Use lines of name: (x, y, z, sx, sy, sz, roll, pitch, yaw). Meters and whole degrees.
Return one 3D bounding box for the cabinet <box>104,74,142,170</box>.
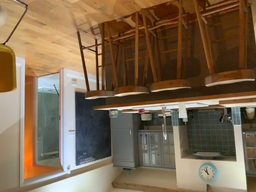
cabinet: (-0.130, 0.640, 5.490, 0.680, 2.270, 0.670, -6, 173, 31)
